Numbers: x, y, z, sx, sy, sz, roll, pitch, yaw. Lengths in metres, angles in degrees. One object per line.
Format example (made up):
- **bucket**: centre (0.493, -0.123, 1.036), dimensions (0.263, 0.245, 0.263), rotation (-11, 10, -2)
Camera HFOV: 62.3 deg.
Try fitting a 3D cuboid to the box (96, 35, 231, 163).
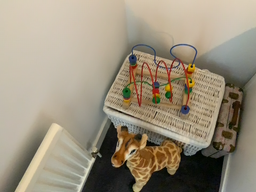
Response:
- **box**: centre (0.200, 0.030, 1.250), dimensions (0.550, 0.430, 0.470), rotation (18, 67, 12)
